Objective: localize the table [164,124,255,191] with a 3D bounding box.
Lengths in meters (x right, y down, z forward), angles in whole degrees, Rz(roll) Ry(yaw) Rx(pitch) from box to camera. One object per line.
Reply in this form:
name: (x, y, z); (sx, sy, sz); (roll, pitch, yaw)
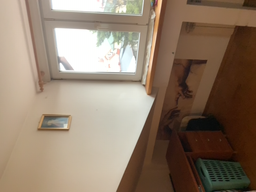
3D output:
table: (0.970, 0.990, 2.560); (1.150, 0.690, 0.650); (-100, 12, -52)
